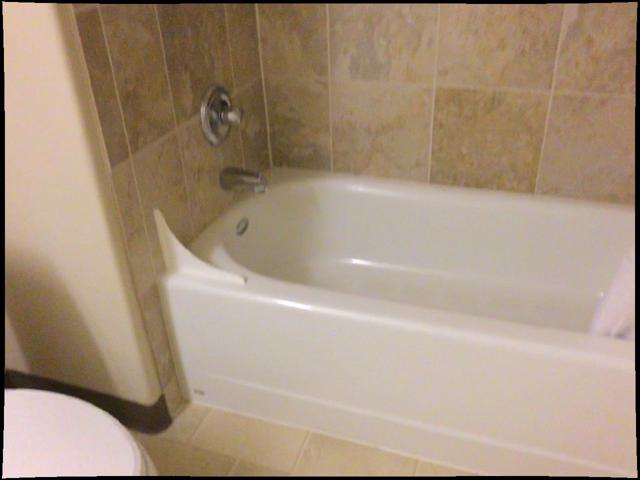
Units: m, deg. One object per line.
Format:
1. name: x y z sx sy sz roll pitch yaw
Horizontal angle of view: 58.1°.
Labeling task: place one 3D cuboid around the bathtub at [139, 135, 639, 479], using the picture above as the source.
1. bathtub: 0.389 0.170 1.670 1.477 0.571 0.780 8 34 16
